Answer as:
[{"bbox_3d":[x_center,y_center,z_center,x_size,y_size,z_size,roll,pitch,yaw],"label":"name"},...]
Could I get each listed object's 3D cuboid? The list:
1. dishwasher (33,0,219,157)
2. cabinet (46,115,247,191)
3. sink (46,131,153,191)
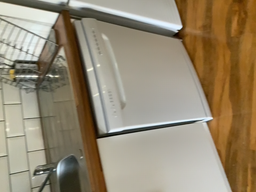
[{"bbox_3d":[-0.030,-0.050,1.400,0.610,0.930,0.620,-34,65,48],"label":"dishwasher"},{"bbox_3d":[0.150,0.640,1.200,0.600,0.930,0.850,-34,65,48],"label":"cabinet"},{"bbox_3d":[-0.160,0.520,1.090,0.520,0.310,0.530,-34,65,48],"label":"sink"}]
